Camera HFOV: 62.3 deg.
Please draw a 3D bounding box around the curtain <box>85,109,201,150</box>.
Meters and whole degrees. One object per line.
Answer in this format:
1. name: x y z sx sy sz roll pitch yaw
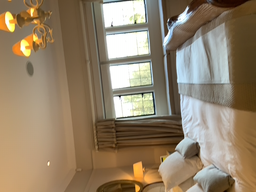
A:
1. curtain: 0.310 0.700 4.510 0.370 2.320 0.580 -88 -8 -85
